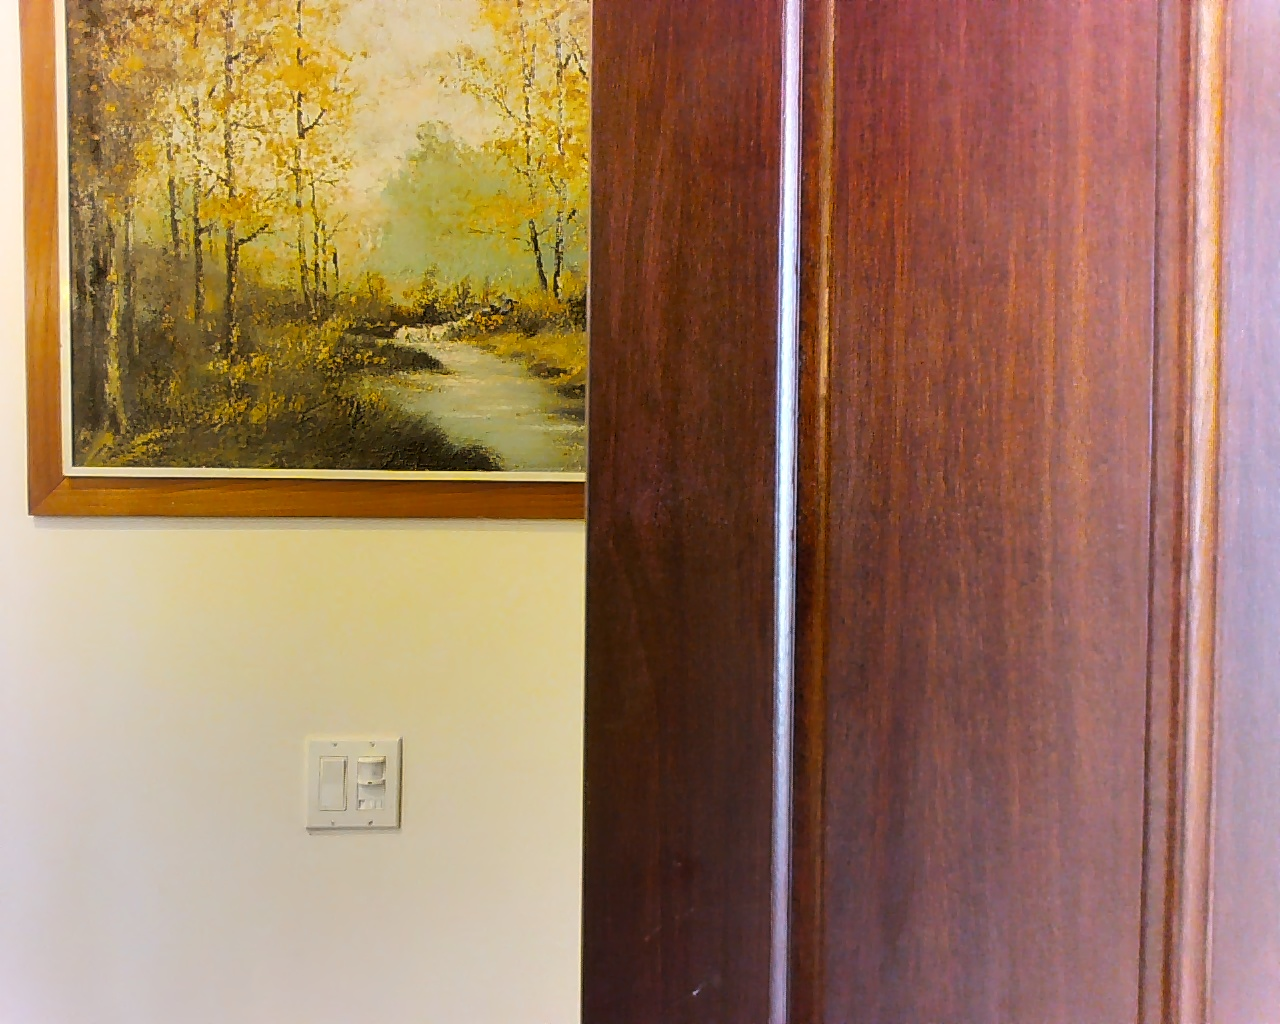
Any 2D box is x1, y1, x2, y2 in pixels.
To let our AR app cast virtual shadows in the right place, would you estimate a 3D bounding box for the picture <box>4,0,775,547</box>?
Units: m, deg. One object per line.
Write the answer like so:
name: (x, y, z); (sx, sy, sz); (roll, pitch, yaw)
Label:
picture: (-0.280, -0.400, 1.290); (0.870, 0.870, 0.100); (1, 1, -6)
